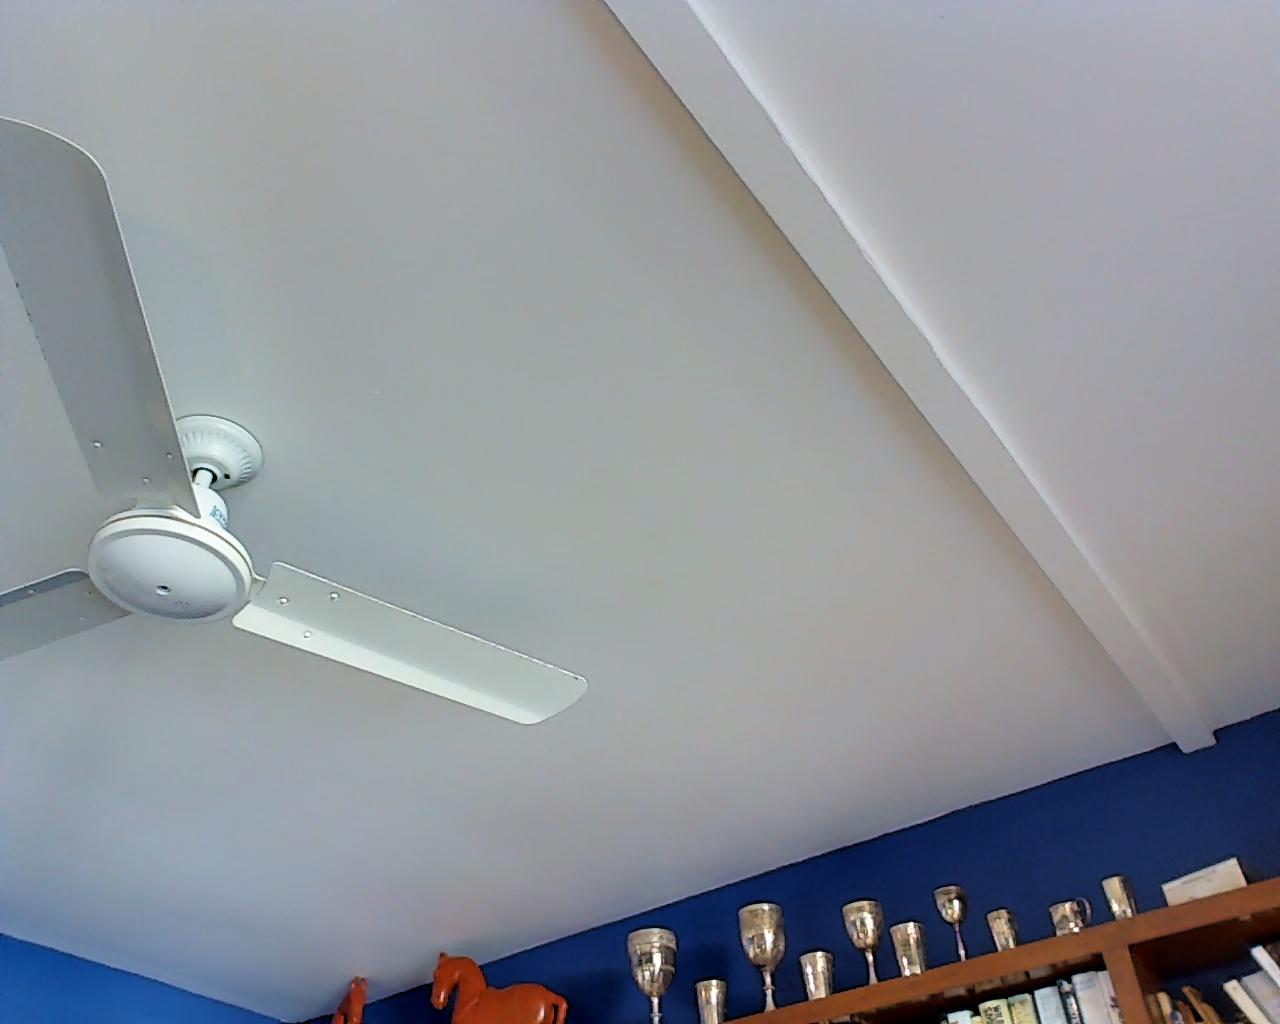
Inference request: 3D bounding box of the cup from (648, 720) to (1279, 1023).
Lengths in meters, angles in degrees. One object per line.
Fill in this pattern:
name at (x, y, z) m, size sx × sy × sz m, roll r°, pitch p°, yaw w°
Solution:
cup at (0.600, 0.800, 2.160) m, size 1.210 × 0.250 × 0.340 m, roll -28°, pitch -48°, yaw 27°
